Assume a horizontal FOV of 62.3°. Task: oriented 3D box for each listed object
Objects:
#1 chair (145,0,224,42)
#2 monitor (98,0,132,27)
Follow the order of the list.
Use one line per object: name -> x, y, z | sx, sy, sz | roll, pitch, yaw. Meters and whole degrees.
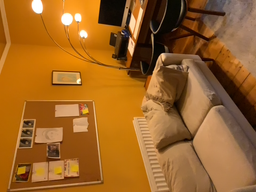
chair -> 0.650, -0.990, 2.550 | 0.500, 0.680, 0.530 | -123, 36, -61
monitor -> -0.200, -1.380, 3.300 | 0.630, 0.470, 0.050 | 109, 151, -45
